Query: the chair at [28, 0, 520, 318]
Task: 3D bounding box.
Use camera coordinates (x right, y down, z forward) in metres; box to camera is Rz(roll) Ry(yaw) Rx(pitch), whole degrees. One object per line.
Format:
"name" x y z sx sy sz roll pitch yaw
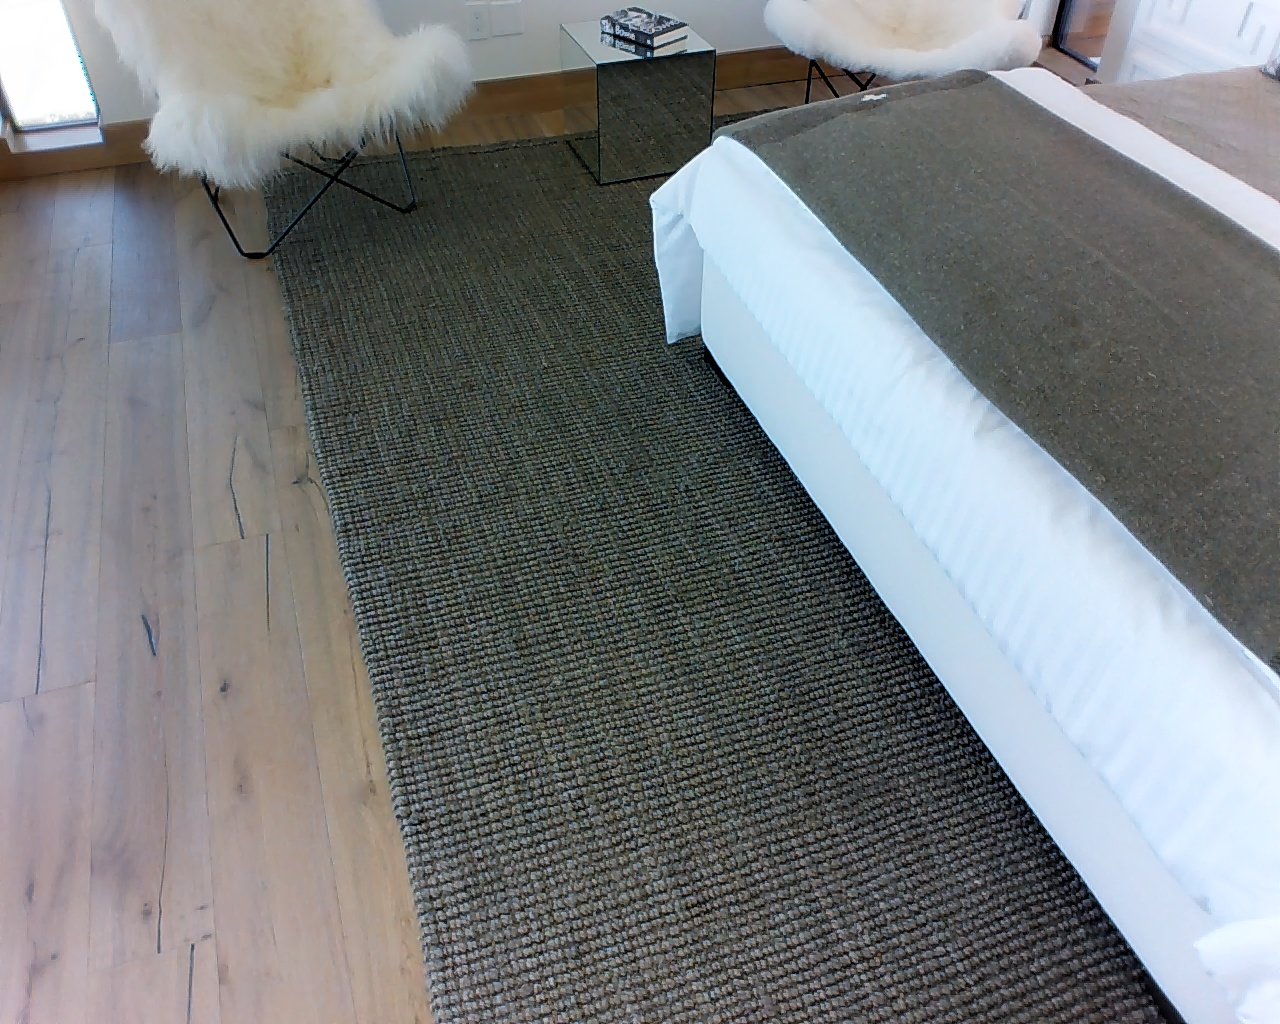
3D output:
"chair" -1.080 -1.360 3.150 1.020 0.970 0.980 -27 49 -28
